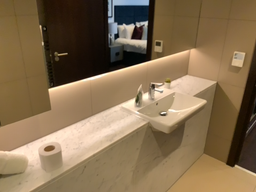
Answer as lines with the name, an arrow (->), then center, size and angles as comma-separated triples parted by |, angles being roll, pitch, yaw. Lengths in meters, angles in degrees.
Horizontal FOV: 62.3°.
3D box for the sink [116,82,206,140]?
sink -> 0.270, 0.080, 1.710 | 0.470, 0.140, 0.570 | 22, 31, 38
